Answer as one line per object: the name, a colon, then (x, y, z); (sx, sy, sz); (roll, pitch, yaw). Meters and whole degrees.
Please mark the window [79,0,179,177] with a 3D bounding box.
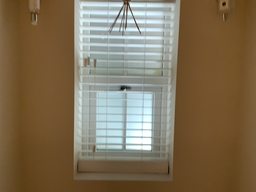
window: (0.000, -0.140, 1.280); (0.540, 1.210, 0.160); (2, -175, 0)
